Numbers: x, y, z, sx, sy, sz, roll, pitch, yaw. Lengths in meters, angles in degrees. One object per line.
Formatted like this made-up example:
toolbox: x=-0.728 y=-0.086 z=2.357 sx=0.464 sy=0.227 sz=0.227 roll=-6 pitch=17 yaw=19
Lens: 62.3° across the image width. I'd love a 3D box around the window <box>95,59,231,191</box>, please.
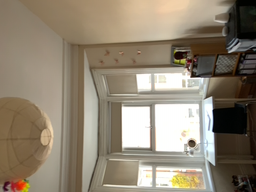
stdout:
window: x=0.530 y=0.630 z=3.560 sx=0.900 sy=1.910 sz=2.270 roll=43 pitch=-133 yaw=-80
